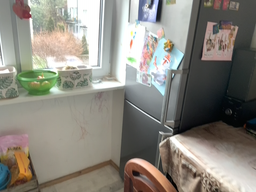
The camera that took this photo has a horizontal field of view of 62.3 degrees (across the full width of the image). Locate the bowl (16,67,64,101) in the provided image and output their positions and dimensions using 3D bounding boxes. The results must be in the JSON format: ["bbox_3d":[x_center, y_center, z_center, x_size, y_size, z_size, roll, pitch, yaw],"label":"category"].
[{"bbox_3d":[-0.640,-0.100,1.540,0.270,0.160,0.240,-9,24,-32],"label":"bowl"}]
